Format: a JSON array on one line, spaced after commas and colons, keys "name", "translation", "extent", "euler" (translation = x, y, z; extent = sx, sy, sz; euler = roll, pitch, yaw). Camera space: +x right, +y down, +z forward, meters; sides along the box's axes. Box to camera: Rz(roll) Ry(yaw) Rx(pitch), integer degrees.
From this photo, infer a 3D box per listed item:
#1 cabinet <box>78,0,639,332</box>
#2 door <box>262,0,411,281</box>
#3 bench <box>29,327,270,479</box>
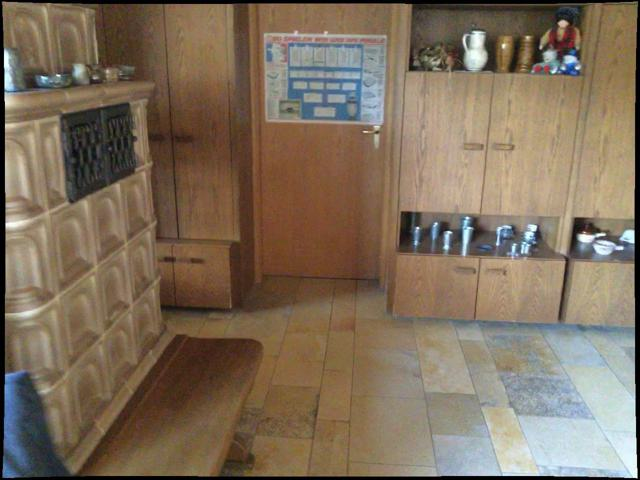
[{"name": "cabinet", "translation": [0.629, -0.771, 3.340], "extent": [3.666, 2.402, 0.760], "euler": [2, 18, 3]}, {"name": "door", "translation": [0.090, -0.691, 3.820], "extent": [0.909, 2.002, 0.090], "euler": [2, 18, 3]}, {"name": "bench", "translation": [-0.490, 0.761, 1.770], "extent": [0.490, 0.450, 1.230], "euler": [2, 18, 3]}]
